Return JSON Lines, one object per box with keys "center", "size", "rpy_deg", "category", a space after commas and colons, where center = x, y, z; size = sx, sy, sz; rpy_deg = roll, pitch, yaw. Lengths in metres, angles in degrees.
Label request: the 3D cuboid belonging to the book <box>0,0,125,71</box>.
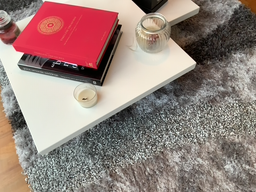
{"center": [-0.250, -0.300, 0.880], "size": [0.400, 0.150, 0.280], "rpy_deg": [14, 61, 10], "category": "book"}
